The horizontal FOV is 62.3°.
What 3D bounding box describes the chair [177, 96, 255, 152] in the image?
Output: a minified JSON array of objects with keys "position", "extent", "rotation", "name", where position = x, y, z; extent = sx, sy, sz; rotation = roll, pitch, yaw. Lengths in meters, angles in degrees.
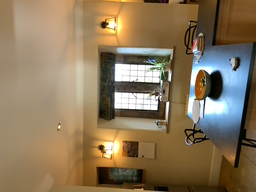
[{"position":[1.210,0.340,2.720],"extent":[0.510,1.000,0.550],"rotation":[-82,-4,-82],"name":"chair"}]
